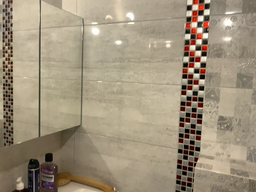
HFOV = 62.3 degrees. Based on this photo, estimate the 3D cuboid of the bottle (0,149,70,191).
[{"bbox_3d":[-0.460,0.420,1.060,0.100,0.180,0.400,5,5,22],"label":"bottle"}]
